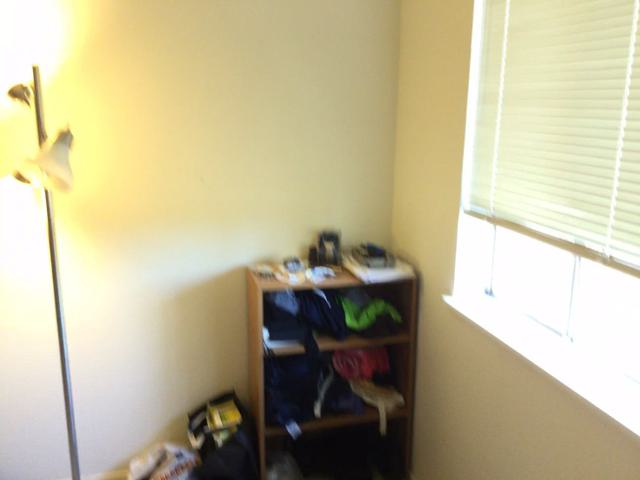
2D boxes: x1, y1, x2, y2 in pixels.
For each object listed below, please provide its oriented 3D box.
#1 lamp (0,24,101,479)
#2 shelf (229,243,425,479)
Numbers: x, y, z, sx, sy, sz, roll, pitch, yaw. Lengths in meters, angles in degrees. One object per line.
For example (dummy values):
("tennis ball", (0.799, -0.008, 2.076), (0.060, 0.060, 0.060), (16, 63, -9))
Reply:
("lamp", (-0.870, 0.250, 1.800), (0.270, 1.690, 0.380), (-1, 11, -15))
("shelf", (0.000, 0.520, 2.350), (0.690, 0.950, 0.380), (-1, 11, -15))
